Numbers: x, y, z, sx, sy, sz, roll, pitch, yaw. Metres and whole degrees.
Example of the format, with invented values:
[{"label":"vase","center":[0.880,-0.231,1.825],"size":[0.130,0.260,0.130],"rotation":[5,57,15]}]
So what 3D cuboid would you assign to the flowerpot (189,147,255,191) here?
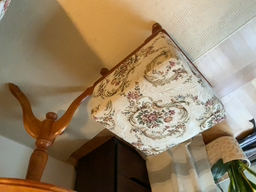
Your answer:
[{"label":"flowerpot","center":[0.610,0.650,1.220],"size":[0.370,0.580,0.290],"rotation":[-10,131,5]}]
